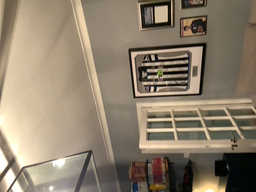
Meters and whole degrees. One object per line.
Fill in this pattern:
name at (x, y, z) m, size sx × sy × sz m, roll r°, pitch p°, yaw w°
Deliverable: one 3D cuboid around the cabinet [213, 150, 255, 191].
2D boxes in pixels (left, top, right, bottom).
cabinet at (1.910, 1.400, 3.520) m, size 0.290 × 0.770 × 1.120 m, roll -81°, pitch -14°, yaw -56°
